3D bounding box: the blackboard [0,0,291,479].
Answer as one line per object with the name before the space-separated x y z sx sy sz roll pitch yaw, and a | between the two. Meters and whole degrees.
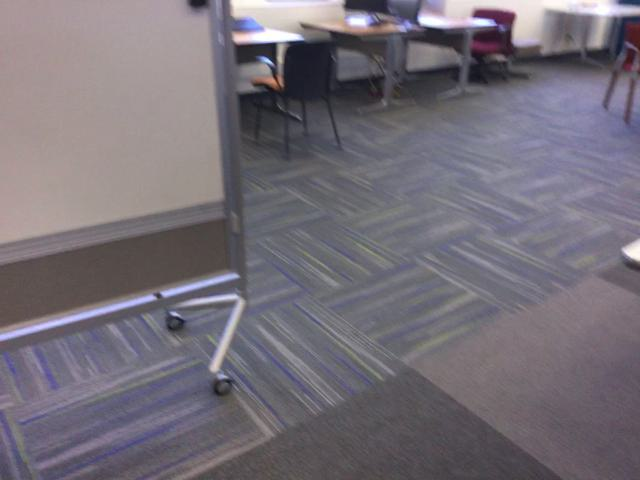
blackboard | -0.830 -0.160 1.640 1.360 1.510 0.610 -17 30 -32
